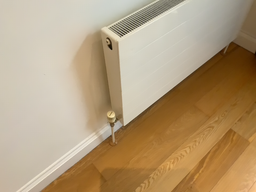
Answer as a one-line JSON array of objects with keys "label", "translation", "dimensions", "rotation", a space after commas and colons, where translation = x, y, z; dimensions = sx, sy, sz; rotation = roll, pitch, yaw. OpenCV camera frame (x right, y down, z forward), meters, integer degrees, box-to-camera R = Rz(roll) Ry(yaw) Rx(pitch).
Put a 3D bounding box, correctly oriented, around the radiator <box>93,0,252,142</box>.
[{"label": "radiator", "translation": [0.360, -0.300, 1.280], "dimensions": [1.250, 0.600, 0.120], "rotation": [-38, 61, -25]}]
